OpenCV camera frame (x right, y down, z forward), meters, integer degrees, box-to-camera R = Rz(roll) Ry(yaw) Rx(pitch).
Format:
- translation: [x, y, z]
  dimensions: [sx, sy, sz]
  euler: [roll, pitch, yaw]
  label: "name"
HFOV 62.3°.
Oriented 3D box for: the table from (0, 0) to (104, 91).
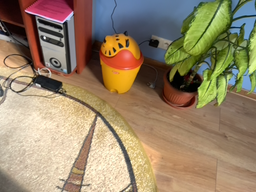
- translation: [-0.660, -0.580, 1.260]
  dimensions: [0.920, 0.740, 0.470]
  euler: [19, 50, 5]
  label: "table"
